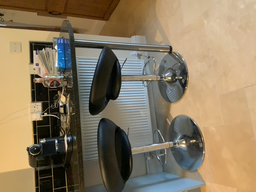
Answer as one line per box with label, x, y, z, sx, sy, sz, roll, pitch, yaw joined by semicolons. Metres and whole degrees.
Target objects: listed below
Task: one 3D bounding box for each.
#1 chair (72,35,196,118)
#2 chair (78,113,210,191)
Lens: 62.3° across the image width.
chair;0.020;-0.110;1.730;0.560;0.810;0.510;164;103;-65
chair;0.090;0.410;1.620;0.540;0.810;0.490;164;103;-65
